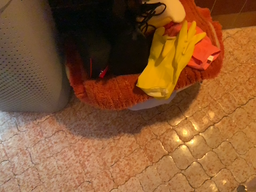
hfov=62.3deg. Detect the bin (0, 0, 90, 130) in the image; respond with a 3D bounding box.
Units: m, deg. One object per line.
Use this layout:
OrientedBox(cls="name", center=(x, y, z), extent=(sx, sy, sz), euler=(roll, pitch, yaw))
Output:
OrientedBox(cls="bin", center=(-0.440, -0.170, 0.700), extent=(0.470, 0.690, 0.350), euler=(3, 65, 2))
